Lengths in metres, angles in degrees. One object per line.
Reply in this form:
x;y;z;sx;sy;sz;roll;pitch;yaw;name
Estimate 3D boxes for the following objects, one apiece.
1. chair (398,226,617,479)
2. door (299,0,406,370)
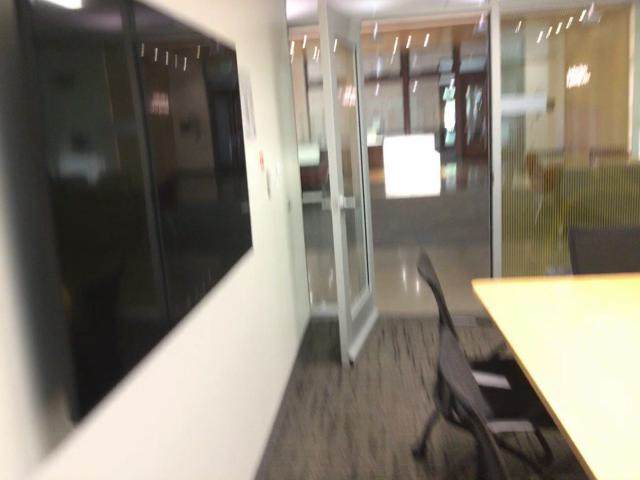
0.630;0.490;2.070;0.600;0.940;0.570;-5;12;6;chair
0.250;-0.500;3.580;0.180;2.290;1.100;-2;13;20;door
